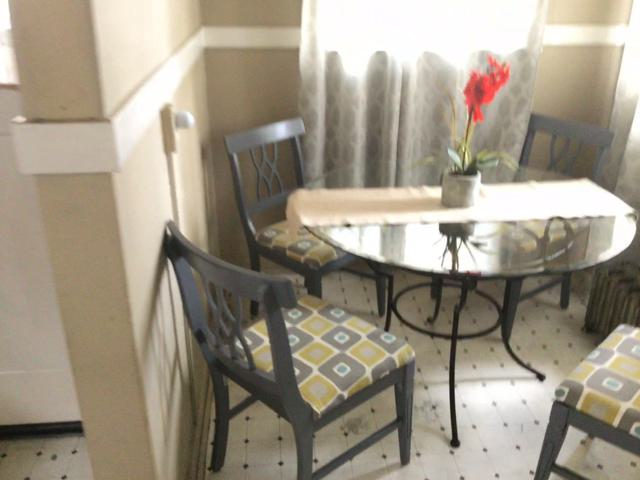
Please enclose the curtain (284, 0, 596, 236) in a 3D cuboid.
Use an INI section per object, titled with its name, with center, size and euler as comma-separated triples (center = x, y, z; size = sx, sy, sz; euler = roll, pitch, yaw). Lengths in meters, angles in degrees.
[curtain]
center = 0.500, -1.000, 2.500
size = 1.310, 2.030, 0.200
euler = 0, 22, -4
